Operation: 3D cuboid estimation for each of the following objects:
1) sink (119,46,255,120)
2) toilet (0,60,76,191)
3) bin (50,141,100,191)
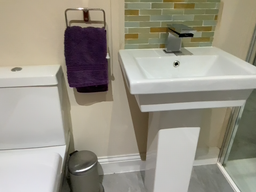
[{"bbox_3d":[0.240,-0.090,0.940,0.520,0.150,0.420,-2,29,-8],"label":"sink"},{"bbox_3d":[-0.510,0.340,0.940,0.430,0.800,0.670,-2,29,-8],"label":"toilet"},{"bbox_3d":[-0.300,0.460,1.280,0.240,0.270,0.240,-1,29,-5],"label":"bin"}]
